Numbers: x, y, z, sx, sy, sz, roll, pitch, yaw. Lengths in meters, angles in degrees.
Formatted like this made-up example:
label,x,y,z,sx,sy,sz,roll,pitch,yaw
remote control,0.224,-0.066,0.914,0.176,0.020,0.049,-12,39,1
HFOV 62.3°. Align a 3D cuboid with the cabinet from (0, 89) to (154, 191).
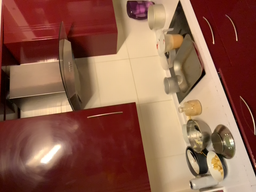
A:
label,x,y,z,sx,sy,sz,roll,pitch,yaw
cabinet,-0.360,0.400,1.380,0.420,0.880,0.660,103,158,-67
